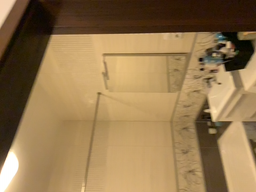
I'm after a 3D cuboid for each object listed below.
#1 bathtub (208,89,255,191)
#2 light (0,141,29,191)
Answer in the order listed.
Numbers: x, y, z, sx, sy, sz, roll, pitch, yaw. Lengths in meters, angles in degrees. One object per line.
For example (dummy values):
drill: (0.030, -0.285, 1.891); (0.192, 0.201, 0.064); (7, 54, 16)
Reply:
bathtub: (1.420, 0.940, 2.270); (0.740, 0.530, 1.980); (87, -176, -56)
light: (-1.010, 0.570, 1.760); (0.130, 0.310, 0.370); (159, 112, -69)
